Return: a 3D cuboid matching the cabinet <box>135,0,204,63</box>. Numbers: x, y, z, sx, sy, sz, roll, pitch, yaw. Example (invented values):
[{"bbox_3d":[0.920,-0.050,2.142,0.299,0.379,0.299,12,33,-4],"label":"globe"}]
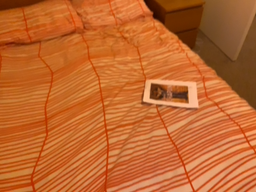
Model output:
[{"bbox_3d":[0.380,-0.760,2.200,0.450,0.540,0.500,-18,49,-15],"label":"cabinet"}]
